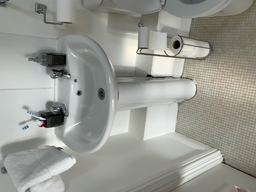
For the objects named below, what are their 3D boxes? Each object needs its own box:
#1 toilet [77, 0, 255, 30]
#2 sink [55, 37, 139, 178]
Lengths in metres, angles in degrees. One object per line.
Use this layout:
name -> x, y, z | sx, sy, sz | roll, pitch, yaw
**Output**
toilet -> 0.250, -0.590, 1.090 | 0.650, 0.770, 0.370 | 18, 107, 47
sink -> -0.180, 0.020, 1.050 | 0.390, 0.190, 0.580 | 18, 107, 47
